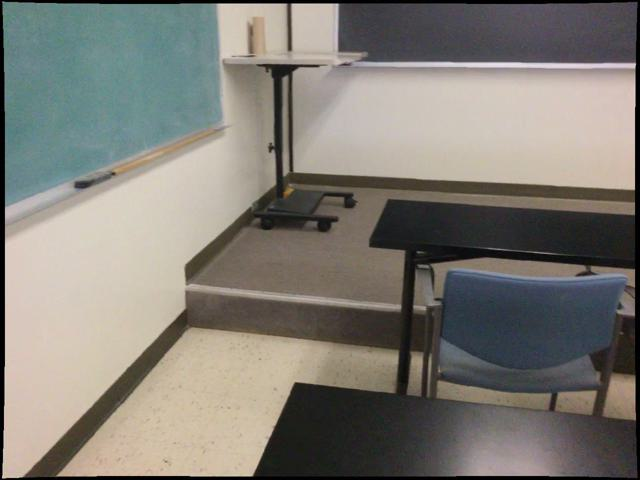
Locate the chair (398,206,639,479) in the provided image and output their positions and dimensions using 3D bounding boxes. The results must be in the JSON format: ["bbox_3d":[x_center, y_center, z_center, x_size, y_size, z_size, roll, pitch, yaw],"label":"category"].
[{"bbox_3d":[0.628,0.371,1.900,0.648,0.792,0.610,4,20,12],"label":"chair"}]
